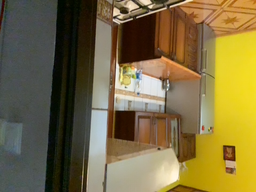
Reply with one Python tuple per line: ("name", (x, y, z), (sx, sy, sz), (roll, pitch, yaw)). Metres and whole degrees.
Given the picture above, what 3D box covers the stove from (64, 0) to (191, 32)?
("stove", (-0.020, -0.570, 1.140), (0.510, 0.150, 0.600), (0, 173, 37))
